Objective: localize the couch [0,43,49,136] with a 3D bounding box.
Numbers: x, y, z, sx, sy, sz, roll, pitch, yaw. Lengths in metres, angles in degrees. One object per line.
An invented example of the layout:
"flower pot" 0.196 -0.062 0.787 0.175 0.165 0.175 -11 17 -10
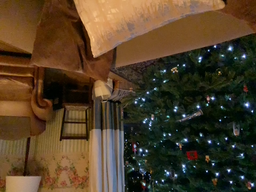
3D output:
"couch" -1.390 -0.010 2.460 0.810 0.800 0.950 5 161 -19

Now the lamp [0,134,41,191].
"lamp" -1.480 0.950 2.850 0.430 0.810 0.410 1 162 -8

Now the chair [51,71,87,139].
"chair" -0.820 0.150 2.980 0.410 0.850 0.450 4 161 -17
